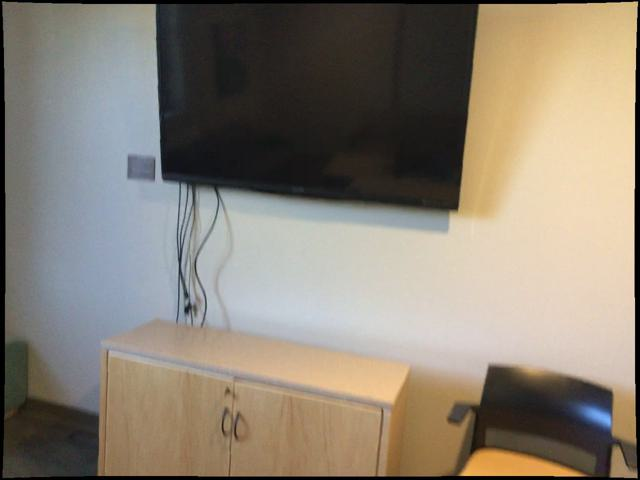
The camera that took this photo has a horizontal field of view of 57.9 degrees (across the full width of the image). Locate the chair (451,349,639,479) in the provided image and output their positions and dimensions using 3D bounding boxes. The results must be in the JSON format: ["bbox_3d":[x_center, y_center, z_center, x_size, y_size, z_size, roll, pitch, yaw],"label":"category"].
[{"bbox_3d":[0.759,0.911,2.120,0.540,0.761,0.630,8,10,16],"label":"chair"}]
